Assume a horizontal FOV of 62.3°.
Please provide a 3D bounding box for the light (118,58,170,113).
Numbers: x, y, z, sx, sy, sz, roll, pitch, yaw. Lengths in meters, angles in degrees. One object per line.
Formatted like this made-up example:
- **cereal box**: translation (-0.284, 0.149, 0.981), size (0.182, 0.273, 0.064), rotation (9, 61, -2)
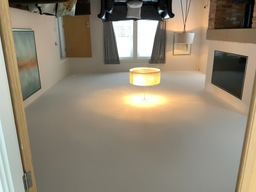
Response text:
- **light**: translation (0.290, -0.230, 4.140), size (0.750, 0.770, 0.660), rotation (-15, -162, 0)

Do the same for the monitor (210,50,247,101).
- **monitor**: translation (1.860, -0.450, 4.060), size (0.010, 0.740, 1.240), rotation (0, -163, -1)
